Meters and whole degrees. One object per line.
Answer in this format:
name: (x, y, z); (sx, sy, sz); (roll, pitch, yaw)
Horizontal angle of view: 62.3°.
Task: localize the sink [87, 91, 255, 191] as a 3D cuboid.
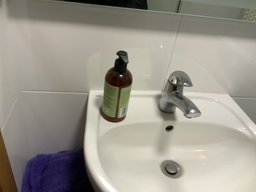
sink: (0.140, 0.180, 0.580); (0.490, 0.160, 0.420); (2, 35, -11)
